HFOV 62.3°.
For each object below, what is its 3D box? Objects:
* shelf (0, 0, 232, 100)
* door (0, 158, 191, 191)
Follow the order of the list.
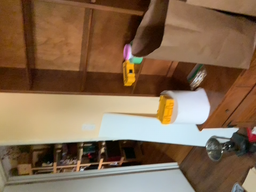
[{"bbox_3d":[-0.140,-0.440,0.950,0.210,1.210,1.090,-107,25,-43],"label":"shelf"},{"bbox_3d":[-0.260,1.030,2.180,0.890,1.960,0.040,-127,42,-61],"label":"door"}]
